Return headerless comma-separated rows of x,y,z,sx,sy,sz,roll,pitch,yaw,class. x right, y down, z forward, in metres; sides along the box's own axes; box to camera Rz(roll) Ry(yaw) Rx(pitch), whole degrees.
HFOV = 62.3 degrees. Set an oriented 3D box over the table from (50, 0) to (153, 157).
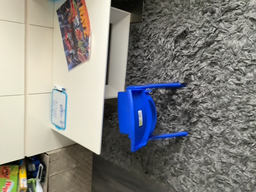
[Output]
-0.200,-0.280,1.440,0.530,0.380,1.170,14,103,40,table
